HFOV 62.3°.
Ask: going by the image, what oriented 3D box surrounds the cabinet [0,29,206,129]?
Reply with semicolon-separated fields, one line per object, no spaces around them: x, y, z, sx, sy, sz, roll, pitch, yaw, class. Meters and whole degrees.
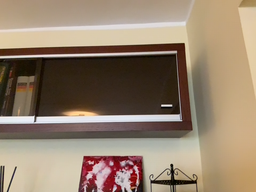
-0.450;-0.060;0.950;1.460;0.360;0.280;0;-18;1;cabinet
